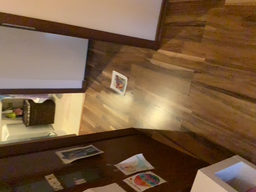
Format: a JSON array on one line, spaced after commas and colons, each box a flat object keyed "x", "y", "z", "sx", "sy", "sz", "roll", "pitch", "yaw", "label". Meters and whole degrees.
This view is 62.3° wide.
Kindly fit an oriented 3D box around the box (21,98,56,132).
[{"x": -1.670, "y": 0.340, "z": 3.950, "sx": 0.200, "sy": 0.530, "sz": 0.570, "roll": 25, "pitch": 111, "yaw": 49, "label": "box"}]
